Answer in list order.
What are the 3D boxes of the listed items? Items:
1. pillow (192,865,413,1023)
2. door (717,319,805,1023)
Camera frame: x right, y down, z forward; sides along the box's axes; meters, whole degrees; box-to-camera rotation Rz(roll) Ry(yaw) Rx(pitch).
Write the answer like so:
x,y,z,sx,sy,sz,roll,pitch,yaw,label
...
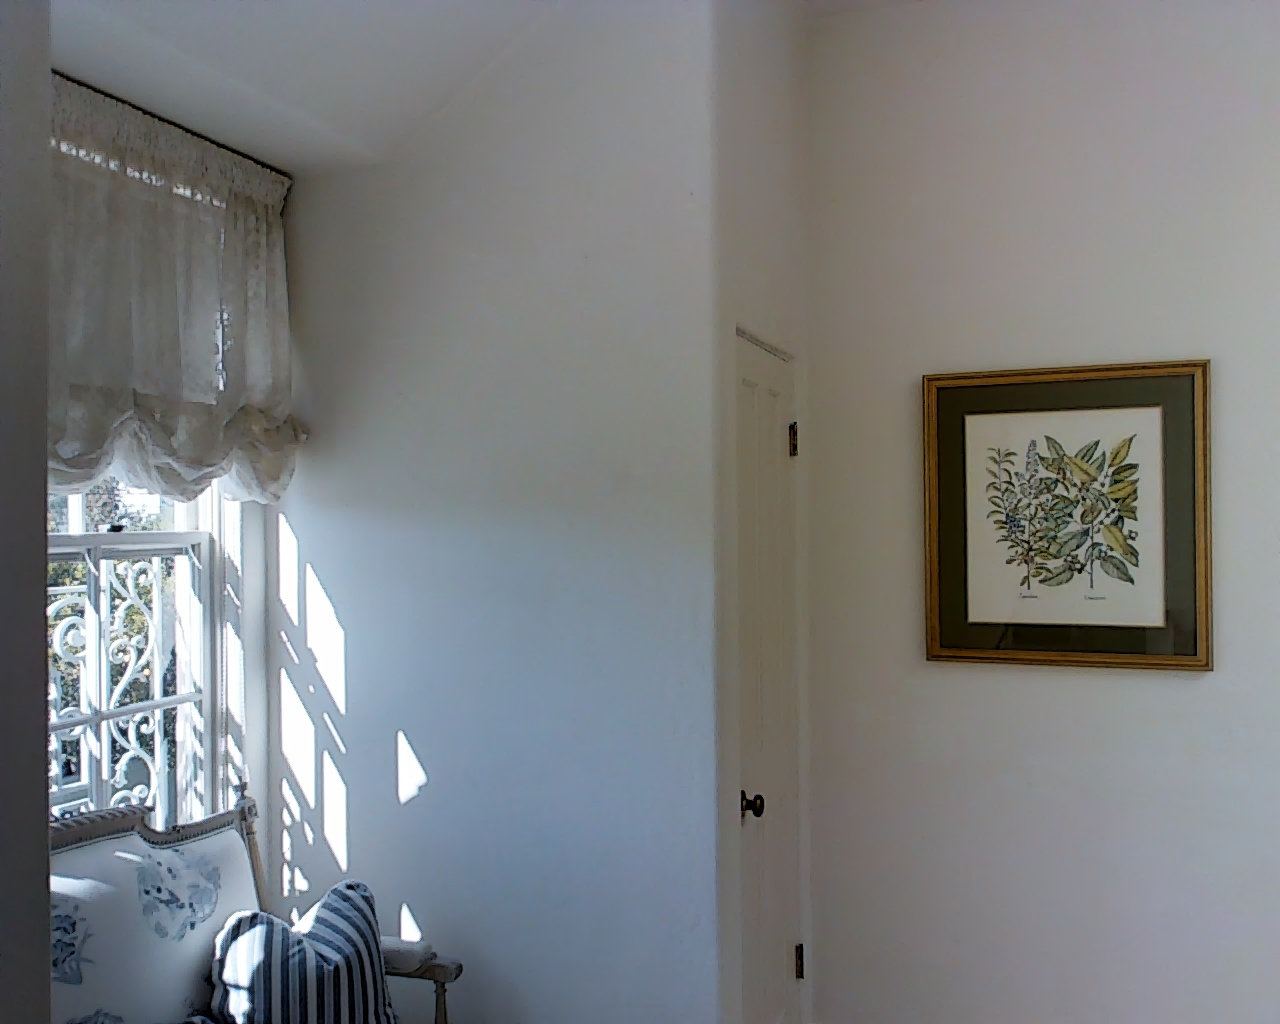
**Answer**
x,y,z,sx,sy,sz,roll,pitch,yaw,label
-0.730,1.020,2.350,0.320,0.350,0.340,0,0,21,pillow
0.330,0.570,2.820,0.060,2.041,0.670,0,0,21,door
